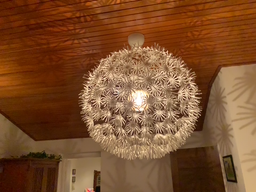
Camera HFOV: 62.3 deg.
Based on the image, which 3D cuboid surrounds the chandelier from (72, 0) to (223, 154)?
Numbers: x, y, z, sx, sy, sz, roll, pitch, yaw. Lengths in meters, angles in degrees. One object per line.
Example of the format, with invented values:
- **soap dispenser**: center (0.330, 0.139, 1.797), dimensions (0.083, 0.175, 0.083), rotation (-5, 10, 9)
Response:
- **chandelier**: center (0.100, -0.110, 1.750), dimensions (0.770, 1.080, 0.810), rotation (12, 156, -37)
